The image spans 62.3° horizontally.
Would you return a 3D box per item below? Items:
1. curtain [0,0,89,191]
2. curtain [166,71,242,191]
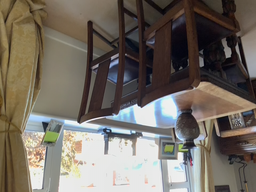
[{"bbox_3d":[-0.700,0.450,1.240,0.840,2.500,0.250,15,154,-37],"label":"curtain"},{"bbox_3d":[0.960,0.990,2.520,0.690,2.500,0.410,14,154,-36],"label":"curtain"}]
